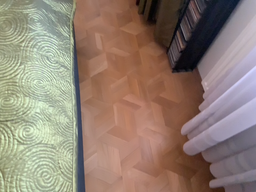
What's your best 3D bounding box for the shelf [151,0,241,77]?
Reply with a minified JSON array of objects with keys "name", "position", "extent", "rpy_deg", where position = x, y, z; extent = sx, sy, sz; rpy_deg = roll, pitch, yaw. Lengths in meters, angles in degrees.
[{"name":"shelf","position":[0.360,-0.500,1.180],"extent":[0.210,0.890,0.360],"rpy_deg":[-3,64,-10]}]
